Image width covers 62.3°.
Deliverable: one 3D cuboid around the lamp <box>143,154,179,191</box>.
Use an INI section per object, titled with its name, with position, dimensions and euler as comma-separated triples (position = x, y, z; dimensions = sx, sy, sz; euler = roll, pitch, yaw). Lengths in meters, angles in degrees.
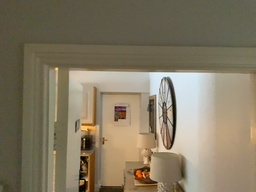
[lamp]
position = 0.290, 0.800, 1.950
dimensions = 0.280, 0.450, 0.320
euler = 1, -1, -1
